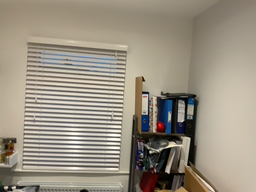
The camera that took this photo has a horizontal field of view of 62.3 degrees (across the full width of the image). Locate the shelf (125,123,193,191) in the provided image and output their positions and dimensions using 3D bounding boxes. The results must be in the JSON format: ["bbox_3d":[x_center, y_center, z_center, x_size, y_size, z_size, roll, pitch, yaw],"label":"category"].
[{"bbox_3d":[0.280,0.930,2.160,0.570,1.250,0.290,3,2,-8],"label":"shelf"}]
